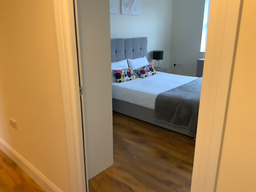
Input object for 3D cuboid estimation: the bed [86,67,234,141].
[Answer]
[{"bbox_3d":[0.550,-0.050,3.910,2.110,0.520,1.610,15,23,40],"label":"bed"}]
